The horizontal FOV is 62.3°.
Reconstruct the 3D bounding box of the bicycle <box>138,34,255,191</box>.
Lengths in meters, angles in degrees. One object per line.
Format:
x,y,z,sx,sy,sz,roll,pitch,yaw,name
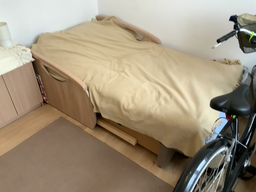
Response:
0.580,0.240,1.230,0.270,0.720,1.490,25,43,28,bicycle

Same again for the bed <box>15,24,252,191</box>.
0.000,-0.160,2.140,1.940,0.440,1.150,25,43,28,bed
